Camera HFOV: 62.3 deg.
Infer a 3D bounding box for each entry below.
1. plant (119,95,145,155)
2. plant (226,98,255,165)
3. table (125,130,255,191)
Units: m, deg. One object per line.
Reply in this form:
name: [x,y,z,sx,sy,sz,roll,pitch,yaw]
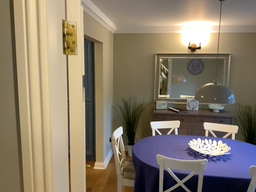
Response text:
plant: [0.070,0.530,3.930,0.440,1.080,0.220,2,9,6]
plant: [2.060,0.610,3.650,0.530,1.110,0.240,2,9,4]
table: [0.800,0.940,2.400,1.530,0.710,1.130,2,9,7]
